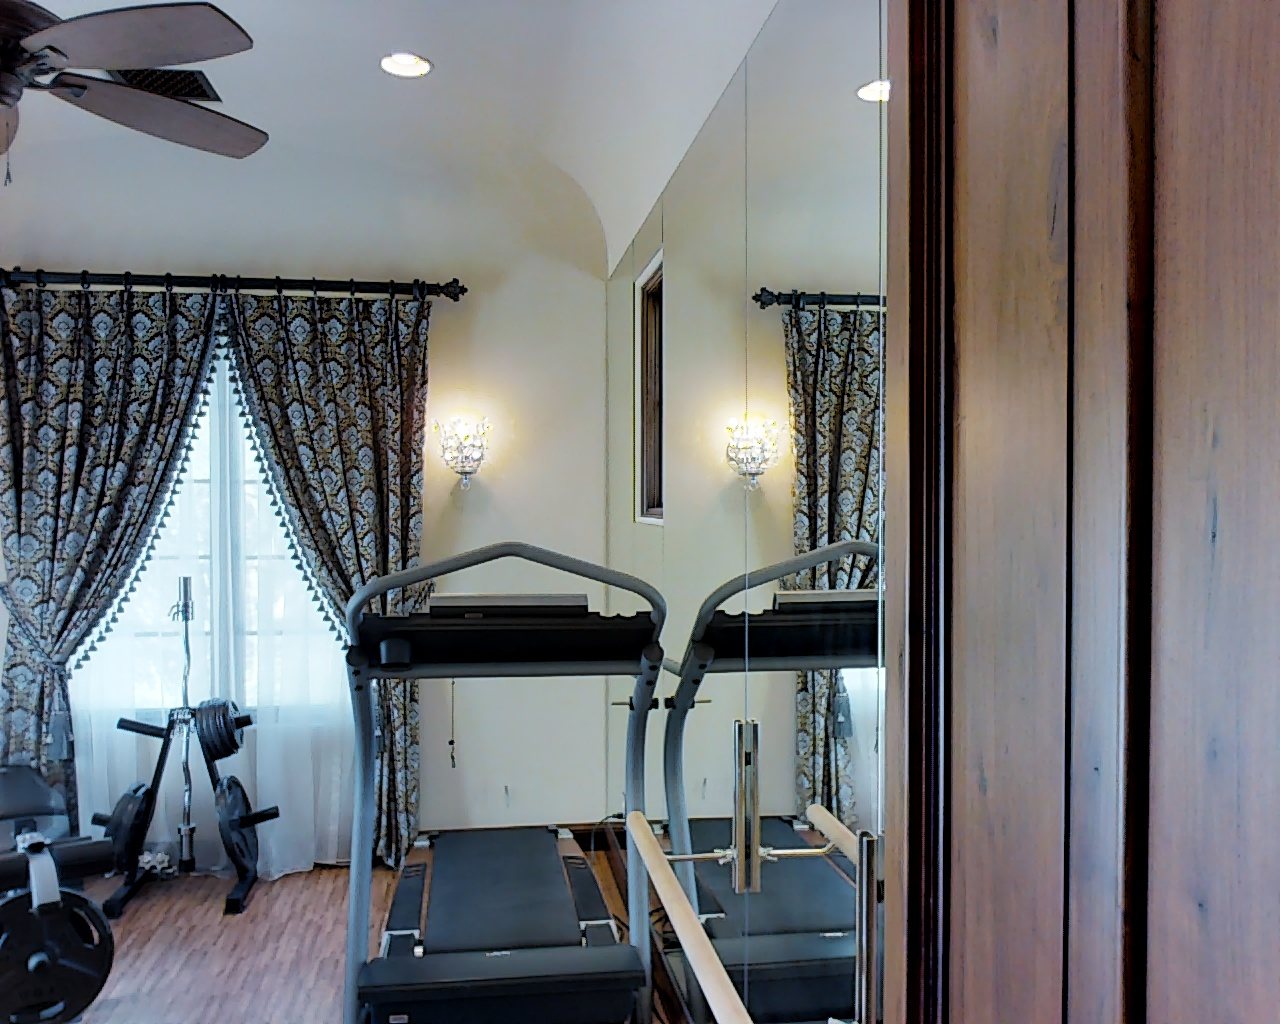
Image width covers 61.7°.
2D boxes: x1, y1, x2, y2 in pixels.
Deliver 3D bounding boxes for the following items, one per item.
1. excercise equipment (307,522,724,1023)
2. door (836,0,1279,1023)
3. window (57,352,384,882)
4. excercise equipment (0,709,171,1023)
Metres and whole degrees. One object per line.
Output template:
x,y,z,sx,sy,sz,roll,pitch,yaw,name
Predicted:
-0.460,0.800,3.750,1.020,1.480,2.240,0,1,-9,excercise equipment
0.260,0.330,0.800,0.080,2.490,0.790,0,1,0,door
-1.760,0.430,4.580,1.280,2.170,0.220,0,1,-9,window
-2.090,1.210,3.680,0.590,0.630,2.260,0,1,-31,excercise equipment
